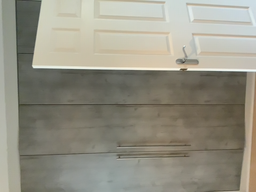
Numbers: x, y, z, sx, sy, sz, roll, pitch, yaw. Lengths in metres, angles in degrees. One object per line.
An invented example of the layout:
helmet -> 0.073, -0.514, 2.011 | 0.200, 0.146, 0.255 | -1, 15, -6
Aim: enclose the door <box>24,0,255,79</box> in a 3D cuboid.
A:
door -> 0.270, -0.540, 1.730 | 0.090, 1.970, 0.830 | 106, 163, -64
